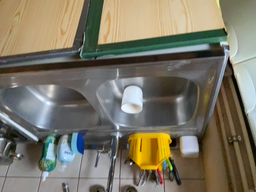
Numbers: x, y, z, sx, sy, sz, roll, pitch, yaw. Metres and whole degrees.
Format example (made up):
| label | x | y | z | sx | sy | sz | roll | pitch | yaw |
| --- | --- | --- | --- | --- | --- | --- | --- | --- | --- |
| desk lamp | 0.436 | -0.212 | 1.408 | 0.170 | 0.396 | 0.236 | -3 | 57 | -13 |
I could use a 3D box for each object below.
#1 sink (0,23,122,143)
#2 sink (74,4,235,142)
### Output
| label | x | y | z | sx | sy | sz | roll | pitch | yaw |
| --- | --- | --- | --- | --- | --- | --- | --- | --- | --- |
| sink | -0.290 | 0.010 | 0.920 | 0.410 | 0.180 | 0.600 | -3 | 148 | 9 |
| sink | 0.110 | -0.020 | 0.860 | 0.420 | 0.200 | 0.600 | -3 | 148 | 9 |
